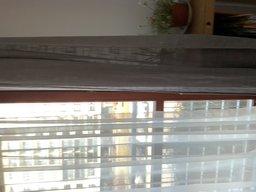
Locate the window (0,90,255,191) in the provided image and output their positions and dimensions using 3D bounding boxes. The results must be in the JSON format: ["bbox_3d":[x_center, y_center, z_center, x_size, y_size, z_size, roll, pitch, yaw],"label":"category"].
[{"bbox_3d":[-0.050,1.290,1.470,0.180,2.850,2.650,-150,60,-78],"label":"window"}]
